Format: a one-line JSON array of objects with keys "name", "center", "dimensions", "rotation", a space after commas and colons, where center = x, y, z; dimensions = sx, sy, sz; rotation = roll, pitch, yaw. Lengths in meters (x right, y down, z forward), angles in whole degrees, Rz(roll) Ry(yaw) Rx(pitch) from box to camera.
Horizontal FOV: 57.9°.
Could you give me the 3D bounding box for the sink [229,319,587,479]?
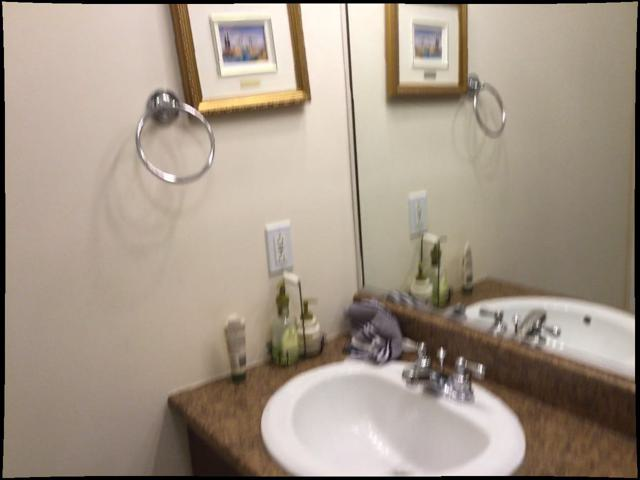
[{"name": "sink", "center": [0.160, 0.380, 1.100], "dimensions": [0.480, 0.220, 0.450], "rotation": [-14, 18, -36]}]
